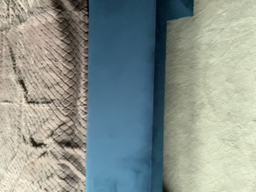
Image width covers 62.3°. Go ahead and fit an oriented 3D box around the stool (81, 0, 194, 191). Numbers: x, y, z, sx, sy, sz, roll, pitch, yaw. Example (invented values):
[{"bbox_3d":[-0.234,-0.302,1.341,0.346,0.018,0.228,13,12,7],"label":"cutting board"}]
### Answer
[{"bbox_3d":[0.060,0.150,1.090,0.390,0.430,1.530,2,92,36],"label":"stool"}]
